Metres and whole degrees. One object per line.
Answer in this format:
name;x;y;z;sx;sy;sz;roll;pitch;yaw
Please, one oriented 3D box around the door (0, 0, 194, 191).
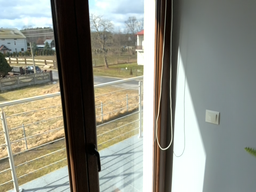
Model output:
door;-0.210;0.350;1.090;1.500;2.200;0.210;-15;21;-41
